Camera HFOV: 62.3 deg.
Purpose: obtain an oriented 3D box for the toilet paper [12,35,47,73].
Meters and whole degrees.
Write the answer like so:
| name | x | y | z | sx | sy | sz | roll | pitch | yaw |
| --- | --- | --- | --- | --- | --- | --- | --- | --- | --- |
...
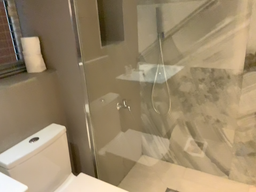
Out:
| name | x | y | z | sx | sy | sz | roll | pitch | yaw |
| --- | --- | --- | --- | --- | --- | --- | --- | --- | --- |
| toilet paper | -0.600 | -0.260 | 1.300 | 0.130 | 0.210 | 0.100 | 9 | 24 | 27 |

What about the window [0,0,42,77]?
| name | x | y | z | sx | sy | sz | roll | pitch | yaw |
| --- | --- | --- | --- | --- | --- | --- | --- | --- | --- |
| window | -0.740 | -0.550 | 1.130 | 0.030 | 0.890 | 0.440 | 10 | 25 | 30 |
